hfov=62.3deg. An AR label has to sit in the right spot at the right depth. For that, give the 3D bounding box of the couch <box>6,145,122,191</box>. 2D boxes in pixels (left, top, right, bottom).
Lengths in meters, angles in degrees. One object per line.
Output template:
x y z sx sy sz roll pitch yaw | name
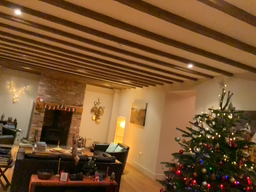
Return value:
-1.190 1.470 4.070 1.890 0.730 0.870 11 -5 -24 | couch

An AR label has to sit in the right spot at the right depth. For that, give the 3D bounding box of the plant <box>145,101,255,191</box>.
1.270 1.180 2.760 1.610 2.000 1.280 11 -5 -25 | plant

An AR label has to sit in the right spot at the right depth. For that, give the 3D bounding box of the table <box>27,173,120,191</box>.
-0.890 1.590 3.440 1.360 0.470 0.520 11 -5 -25 | table
